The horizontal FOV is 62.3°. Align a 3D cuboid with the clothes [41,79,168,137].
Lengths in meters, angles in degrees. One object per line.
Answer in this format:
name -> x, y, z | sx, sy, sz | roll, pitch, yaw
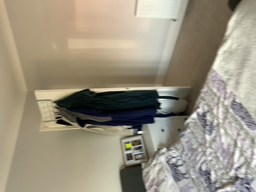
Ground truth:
clothes -> -0.280, 0.150, 2.700 | 0.680, 1.410, 0.300 | 100, 164, -44
